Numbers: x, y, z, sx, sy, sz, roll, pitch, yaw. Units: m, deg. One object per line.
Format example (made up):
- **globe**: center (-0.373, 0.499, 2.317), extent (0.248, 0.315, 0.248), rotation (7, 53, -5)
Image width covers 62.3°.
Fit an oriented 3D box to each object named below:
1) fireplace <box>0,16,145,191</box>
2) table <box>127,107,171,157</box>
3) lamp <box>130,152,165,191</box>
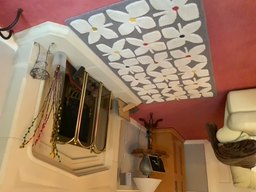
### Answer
- **fireplace**: center (-0.460, 0.360, 1.870), extent (0.740, 1.170, 1.510), rotation (-8, 156, 23)
- **table**: center (0.300, 0.520, 2.960), extent (0.460, 0.570, 0.450), rotation (-10, 155, 26)
- **lamp**: center (0.260, 1.000, 2.810), extent (0.350, 0.450, 0.320), rotation (-10, 155, 26)
